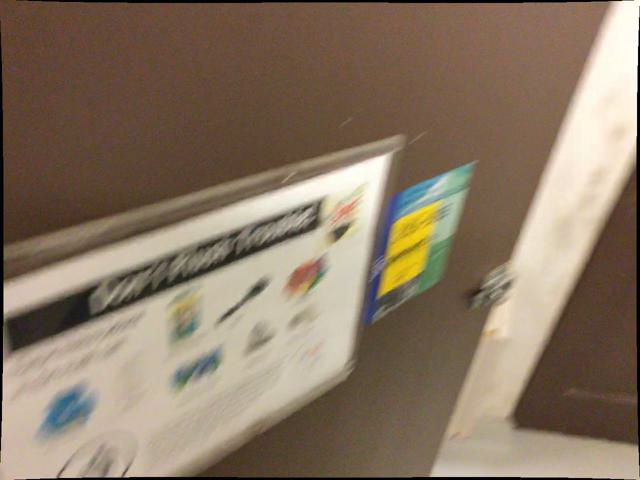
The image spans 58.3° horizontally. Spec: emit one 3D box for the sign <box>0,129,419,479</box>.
[{"bbox_3d":[-0.080,0.070,0.390,0.330,0.250,0.020,-19,42,-35],"label":"sign"}]
